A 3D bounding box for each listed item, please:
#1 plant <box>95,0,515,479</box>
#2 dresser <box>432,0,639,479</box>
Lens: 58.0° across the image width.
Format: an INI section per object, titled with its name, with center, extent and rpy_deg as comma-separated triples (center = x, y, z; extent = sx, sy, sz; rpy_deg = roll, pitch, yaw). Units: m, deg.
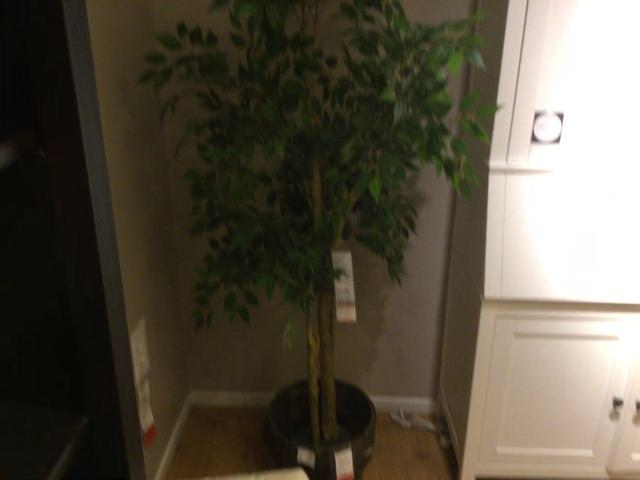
[plant]
center = 0.020, 0.030, 1.590
extent = 0.740, 1.620, 0.730
rpy_deg = -3, 22, 3
[dresser]
center = 0.820, -0.170, 1.580
extent = 0.930, 1.900, 0.510
rpy_deg = -3, 22, 3
